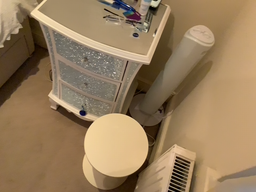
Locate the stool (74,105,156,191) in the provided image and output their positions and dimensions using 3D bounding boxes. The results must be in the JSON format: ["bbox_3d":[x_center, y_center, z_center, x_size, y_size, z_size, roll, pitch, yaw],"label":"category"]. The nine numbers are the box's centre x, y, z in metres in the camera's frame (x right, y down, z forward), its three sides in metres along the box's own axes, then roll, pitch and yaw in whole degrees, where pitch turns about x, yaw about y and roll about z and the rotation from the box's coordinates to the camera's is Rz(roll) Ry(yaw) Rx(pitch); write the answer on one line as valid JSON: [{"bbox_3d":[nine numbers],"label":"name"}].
[{"bbox_3d":[-0.090,0.330,1.160,0.300,0.450,0.300,20,57,-2],"label":"stool"}]
